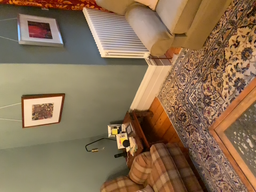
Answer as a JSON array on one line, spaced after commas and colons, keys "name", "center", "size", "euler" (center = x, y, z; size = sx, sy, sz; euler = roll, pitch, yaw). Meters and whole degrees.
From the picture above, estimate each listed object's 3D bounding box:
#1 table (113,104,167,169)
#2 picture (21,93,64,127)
[{"name": "table", "center": [0.130, 0.580, 3.090], "size": [0.650, 0.400, 0.640], "euler": [114, 144, -43]}, {"name": "picture", "center": [-0.990, 0.170, 2.460], "size": [0.550, 0.420, 0.060], "euler": [116, 142, -45]}]
